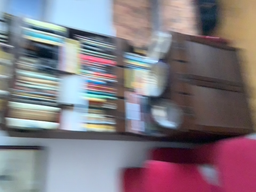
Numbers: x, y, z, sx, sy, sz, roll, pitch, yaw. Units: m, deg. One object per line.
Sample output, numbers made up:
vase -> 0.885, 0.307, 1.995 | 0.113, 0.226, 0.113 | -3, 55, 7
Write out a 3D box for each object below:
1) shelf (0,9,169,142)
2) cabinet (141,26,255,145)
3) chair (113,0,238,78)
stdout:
shelf -> -0.270, -0.080, 1.590 | 0.390, 1.030, 0.760 | 141, 132, -61
cabinet -> 0.580, -0.020, 1.820 | 0.580, 0.730, 0.780 | 141, 132, -61
chair -> 0.410, -1.060, 2.250 | 0.640, 0.970, 1.470 | 141, 132, -61
